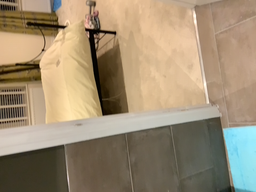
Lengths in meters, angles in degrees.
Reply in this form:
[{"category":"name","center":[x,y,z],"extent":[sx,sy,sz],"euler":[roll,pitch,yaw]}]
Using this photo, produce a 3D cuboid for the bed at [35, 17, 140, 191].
[{"category":"bed","center":[-0.710,0.320,2.960],"extent":[1.700,0.670,2.060],"euler":[-16,80,57]}]
